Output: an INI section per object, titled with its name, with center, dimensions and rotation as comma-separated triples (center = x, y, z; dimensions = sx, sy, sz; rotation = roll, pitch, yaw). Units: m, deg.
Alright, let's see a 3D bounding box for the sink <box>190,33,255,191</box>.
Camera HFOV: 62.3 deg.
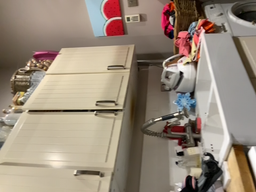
[sink]
center = 0.530, 0.100, 1.250
dimensions = 0.790, 0.190, 0.600
rotation = -81, -13, -45
